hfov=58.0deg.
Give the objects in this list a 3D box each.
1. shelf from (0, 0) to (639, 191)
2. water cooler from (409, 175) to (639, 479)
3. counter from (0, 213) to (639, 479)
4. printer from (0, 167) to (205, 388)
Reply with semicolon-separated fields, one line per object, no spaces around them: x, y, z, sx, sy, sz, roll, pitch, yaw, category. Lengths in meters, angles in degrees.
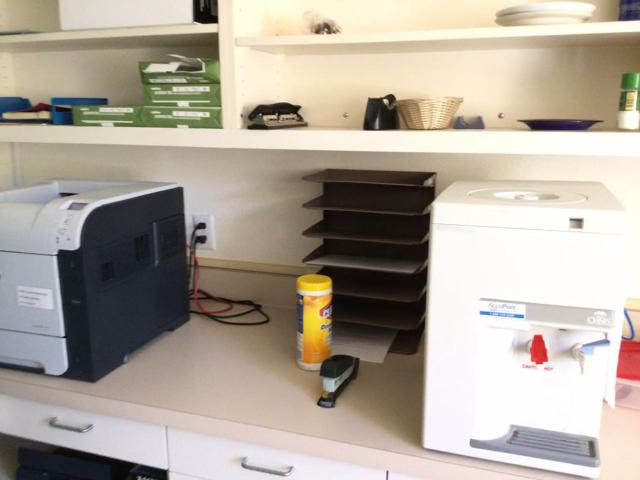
-0.150;-0.610;1.390;2.030;0.810;0.440;6;14;19;shelf
0.400;0.130;1.120;0.350;0.450;0.400;6;14;19;water cooler
0.270;0.270;1.290;3.030;0.290;0.700;6;14;19;counter
-0.660;0.050;1.530;0.510;0.410;0.490;6;14;19;printer
